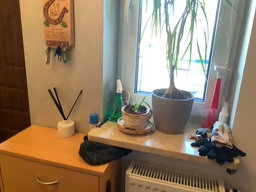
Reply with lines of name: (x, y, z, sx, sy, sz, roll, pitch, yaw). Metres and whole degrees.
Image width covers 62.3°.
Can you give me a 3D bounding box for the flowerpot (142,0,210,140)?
flowerpot: (0.200, -0.120, 0.930, 0.200, 0.560, 0.200, 7, 17, 14)
